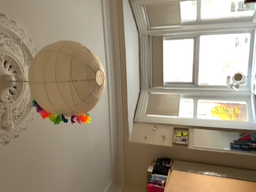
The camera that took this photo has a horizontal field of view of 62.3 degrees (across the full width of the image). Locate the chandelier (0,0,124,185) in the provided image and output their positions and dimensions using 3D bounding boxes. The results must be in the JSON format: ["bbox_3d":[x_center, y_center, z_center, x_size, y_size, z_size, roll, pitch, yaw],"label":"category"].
[{"bbox_3d":[-0.530,-0.080,1.320,0.590,0.520,0.880,27,-73,12],"label":"chandelier"}]
